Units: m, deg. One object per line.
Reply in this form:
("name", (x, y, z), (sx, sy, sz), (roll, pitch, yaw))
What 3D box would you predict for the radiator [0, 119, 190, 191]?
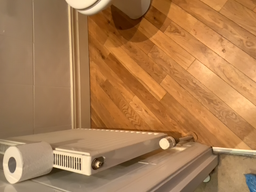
("radiator", (-0.180, 0.210, 1.010), (0.740, 0.660, 0.130), (-3, 88, 34))
